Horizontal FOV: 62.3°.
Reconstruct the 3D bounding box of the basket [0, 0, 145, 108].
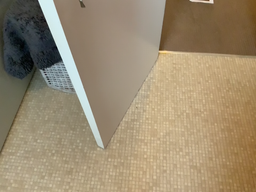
[{"bbox_3d":[-0.270,-0.290,1.190,0.690,0.590,0.420,5,57,4],"label":"basket"}]
